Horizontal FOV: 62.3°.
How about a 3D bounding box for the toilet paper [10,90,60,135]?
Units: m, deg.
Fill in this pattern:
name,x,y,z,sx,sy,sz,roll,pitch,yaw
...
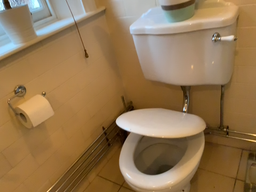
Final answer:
name,x,y,z,sx,sy,sz,roll,pitch,yaw
toilet paper,-0.410,0.070,0.950,0.090,0.130,0.140,7,38,31
